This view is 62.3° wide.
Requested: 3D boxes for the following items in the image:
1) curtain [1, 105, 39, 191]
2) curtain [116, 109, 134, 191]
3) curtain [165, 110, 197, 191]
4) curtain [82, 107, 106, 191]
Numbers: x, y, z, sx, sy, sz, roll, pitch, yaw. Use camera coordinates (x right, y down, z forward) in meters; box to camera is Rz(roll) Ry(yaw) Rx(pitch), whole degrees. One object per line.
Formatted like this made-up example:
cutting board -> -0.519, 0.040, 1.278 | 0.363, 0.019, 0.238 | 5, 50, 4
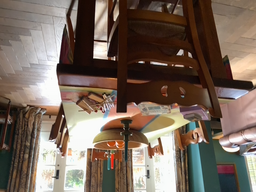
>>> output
curtain -> -1.760, 1.210, 3.390 | 0.330, 2.160, 0.180 | 3, 159, -12
curtain -> -0.060, 1.320, 3.800 | 0.270, 2.210, 0.140 | 5, 159, -15
curtain -> 1.010, 1.350, 4.030 | 0.270, 2.130, 0.420 | 5, 159, -16
curtain -> -0.580, 1.300, 3.620 | 0.350, 2.250, 0.190 | 5, 159, -15
